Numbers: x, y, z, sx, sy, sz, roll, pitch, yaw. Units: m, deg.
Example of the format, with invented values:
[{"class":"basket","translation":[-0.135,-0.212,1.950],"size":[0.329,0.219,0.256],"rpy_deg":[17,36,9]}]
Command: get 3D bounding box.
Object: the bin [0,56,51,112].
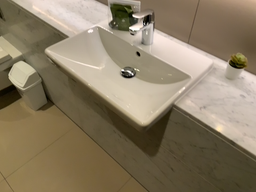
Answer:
[{"class":"bin","translation":[-0.810,-0.090,1.700],"size":[0.220,0.350,0.190],"rpy_deg":[35,56,26]}]
